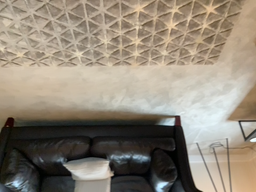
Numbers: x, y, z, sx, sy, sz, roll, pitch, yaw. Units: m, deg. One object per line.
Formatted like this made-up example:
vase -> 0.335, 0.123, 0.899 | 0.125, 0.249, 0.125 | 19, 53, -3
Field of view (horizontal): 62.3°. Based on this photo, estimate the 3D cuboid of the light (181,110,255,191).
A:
light -> 1.260, 1.260, 2.670 | 0.800, 1.850, 1.010 | -4, 147, 5

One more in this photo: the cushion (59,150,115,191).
cushion -> -0.380, 0.870, 2.210 | 0.460, 0.410, 0.640 | -1, 147, -1

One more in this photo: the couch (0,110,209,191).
couch -> -0.360, 0.810, 2.360 | 2.040, 0.890, 1.050 | 0, 147, -2
